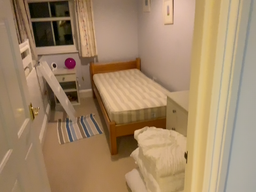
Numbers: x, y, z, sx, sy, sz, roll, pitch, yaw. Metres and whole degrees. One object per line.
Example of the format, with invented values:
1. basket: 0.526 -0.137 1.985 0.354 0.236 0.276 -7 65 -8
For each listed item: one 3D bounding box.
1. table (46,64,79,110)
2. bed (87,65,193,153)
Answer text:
1. table: -1.170 -0.180 3.830 0.450 0.680 0.420 -8 21 -14
2. bed: -0.010 0.000 3.450 1.040 0.510 2.130 -8 21 -14
